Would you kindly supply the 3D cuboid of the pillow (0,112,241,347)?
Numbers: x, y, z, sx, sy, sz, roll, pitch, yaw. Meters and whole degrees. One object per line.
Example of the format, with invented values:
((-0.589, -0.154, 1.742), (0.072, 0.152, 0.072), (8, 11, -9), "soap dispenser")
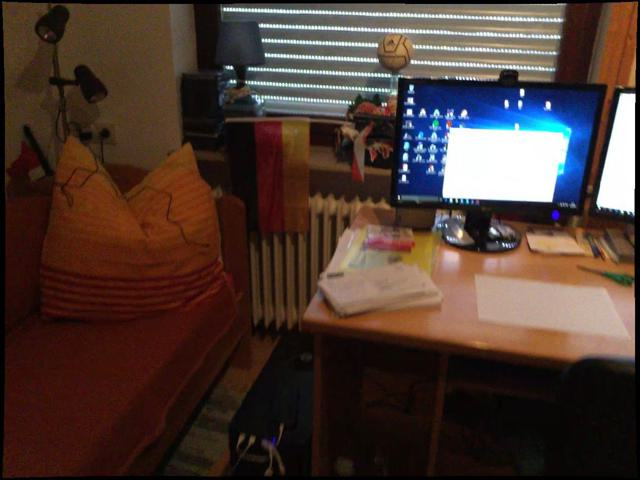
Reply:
((-0.639, -0.050, 1.910), (0.529, 0.580, 0.520), (-4, 22, 11), "pillow")
